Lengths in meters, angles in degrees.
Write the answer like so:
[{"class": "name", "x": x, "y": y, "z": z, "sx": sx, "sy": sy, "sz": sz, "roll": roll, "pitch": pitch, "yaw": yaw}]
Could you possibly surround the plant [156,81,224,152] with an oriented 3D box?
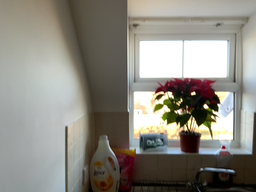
[{"class": "plant", "x": 0.450, "y": 0.140, "z": 1.630, "sx": 0.430, "sy": 0.490, "sz": 0.310, "roll": 0, "pitch": 2, "yaw": 1}]
